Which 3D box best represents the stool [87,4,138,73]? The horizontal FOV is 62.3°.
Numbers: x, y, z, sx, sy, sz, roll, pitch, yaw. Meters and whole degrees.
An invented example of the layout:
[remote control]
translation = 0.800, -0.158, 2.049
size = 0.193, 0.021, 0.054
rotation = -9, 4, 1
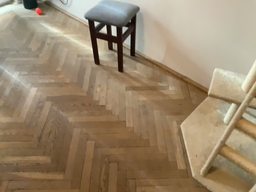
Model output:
[stool]
translation = -0.120, -0.490, 1.820
size = 0.300, 0.420, 0.280
rotation = 23, 51, 20
